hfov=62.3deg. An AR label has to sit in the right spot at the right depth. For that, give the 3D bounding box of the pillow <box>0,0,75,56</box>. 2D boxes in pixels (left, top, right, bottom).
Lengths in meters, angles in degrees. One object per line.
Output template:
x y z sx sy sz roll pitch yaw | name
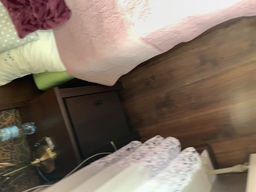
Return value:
-0.470 -0.440 1.110 0.130 0.260 0.350 -13 51 35 | pillow
